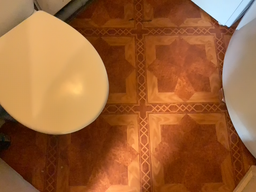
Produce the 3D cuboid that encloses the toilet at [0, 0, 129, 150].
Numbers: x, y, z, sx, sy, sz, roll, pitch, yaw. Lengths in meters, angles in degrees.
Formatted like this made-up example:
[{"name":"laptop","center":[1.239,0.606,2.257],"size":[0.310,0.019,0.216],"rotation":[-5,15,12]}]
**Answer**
[{"name":"toilet","center":[-0.350,-0.150,0.810],"size":[0.590,0.800,0.370],"rotation":[44,78,10]}]
